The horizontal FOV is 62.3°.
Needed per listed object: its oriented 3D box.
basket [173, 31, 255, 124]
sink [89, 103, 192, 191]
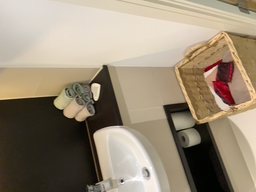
[{"bbox_3d":[0.590,-0.090,1.230,0.370,0.430,0.370,-31,69,52],"label":"basket"},{"bbox_3d":[0.040,0.380,1.010,0.460,0.180,0.560,-34,66,51],"label":"sink"}]
